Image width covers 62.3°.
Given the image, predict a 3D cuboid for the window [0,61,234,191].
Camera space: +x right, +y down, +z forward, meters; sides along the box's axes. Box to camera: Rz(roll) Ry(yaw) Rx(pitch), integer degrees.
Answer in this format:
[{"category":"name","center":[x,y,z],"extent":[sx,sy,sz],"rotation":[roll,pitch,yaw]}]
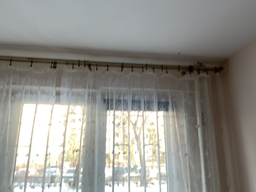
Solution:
[{"category":"window","center":[-0.060,0.600,1.610],"extent":[1.700,1.680,0.190],"rotation":[2,-14,-7]}]
